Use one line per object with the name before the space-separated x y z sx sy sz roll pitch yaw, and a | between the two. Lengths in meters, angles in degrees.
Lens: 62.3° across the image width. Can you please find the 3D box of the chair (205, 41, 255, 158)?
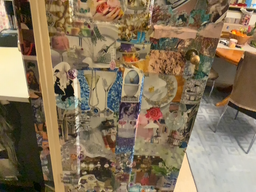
chair | 1.280 0.010 2.160 0.580 0.990 0.460 -17 38 -34

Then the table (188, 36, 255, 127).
table | 1.580 -0.240 2.880 1.120 0.750 1.150 6 30 0
